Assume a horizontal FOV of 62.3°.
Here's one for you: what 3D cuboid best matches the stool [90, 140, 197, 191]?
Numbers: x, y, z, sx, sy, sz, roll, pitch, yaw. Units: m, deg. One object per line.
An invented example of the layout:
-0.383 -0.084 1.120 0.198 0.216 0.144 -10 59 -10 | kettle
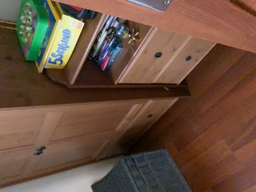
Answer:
0.180 0.820 1.430 0.500 0.450 0.820 -51 56 36 | stool
